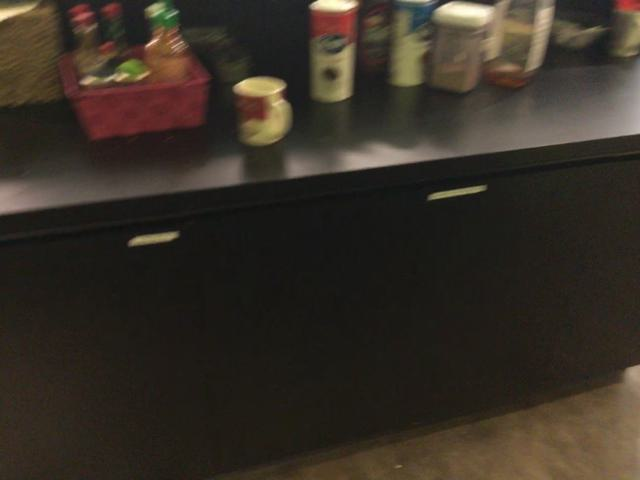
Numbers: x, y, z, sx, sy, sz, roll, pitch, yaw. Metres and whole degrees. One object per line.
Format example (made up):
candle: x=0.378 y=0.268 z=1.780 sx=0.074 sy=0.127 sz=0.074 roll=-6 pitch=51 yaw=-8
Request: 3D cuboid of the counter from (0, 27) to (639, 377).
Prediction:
counter: x=-1.910 y=0.090 z=0.580 sx=5.900 sy=0.310 sz=0.670 roll=-8 pitch=36 yaw=-19
